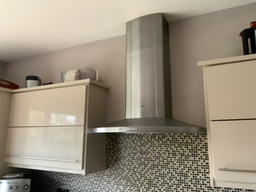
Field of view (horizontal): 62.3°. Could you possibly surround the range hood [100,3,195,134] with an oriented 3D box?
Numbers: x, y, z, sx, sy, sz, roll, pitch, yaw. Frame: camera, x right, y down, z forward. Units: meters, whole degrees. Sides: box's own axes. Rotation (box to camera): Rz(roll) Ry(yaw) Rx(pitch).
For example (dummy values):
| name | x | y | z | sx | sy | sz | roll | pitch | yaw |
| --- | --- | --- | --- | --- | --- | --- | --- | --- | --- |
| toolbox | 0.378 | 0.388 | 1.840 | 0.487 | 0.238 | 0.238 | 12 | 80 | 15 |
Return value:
| name | x | y | z | sx | sy | sz | roll | pitch | yaw |
| --- | --- | --- | --- | --- | --- | --- | --- | --- | --- |
| range hood | 0.150 | -0.180 | 1.830 | 0.730 | 1.000 | 0.260 | -5 | -12 | 28 |
